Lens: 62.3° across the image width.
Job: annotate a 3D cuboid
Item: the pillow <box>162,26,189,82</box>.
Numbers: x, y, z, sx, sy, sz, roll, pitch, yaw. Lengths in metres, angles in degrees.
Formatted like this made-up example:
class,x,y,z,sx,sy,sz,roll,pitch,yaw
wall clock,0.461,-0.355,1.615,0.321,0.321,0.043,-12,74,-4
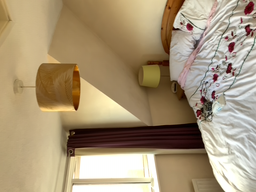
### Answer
class,x,y,z,sx,sy,sz,roll,pitch,yaw
pillow,0.620,-0.560,2.870,0.570,0.130,0.490,97,172,-47

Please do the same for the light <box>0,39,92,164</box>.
class,x,y,z,sx,sy,sz,roll,pitch,yaw
light,-0.510,0.040,1.340,0.380,0.380,0.590,40,144,29

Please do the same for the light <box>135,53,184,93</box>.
class,x,y,z,sx,sy,sz,roll,pitch,yaw
light,0.460,-0.360,3.310,0.380,0.630,0.510,96,172,-46
